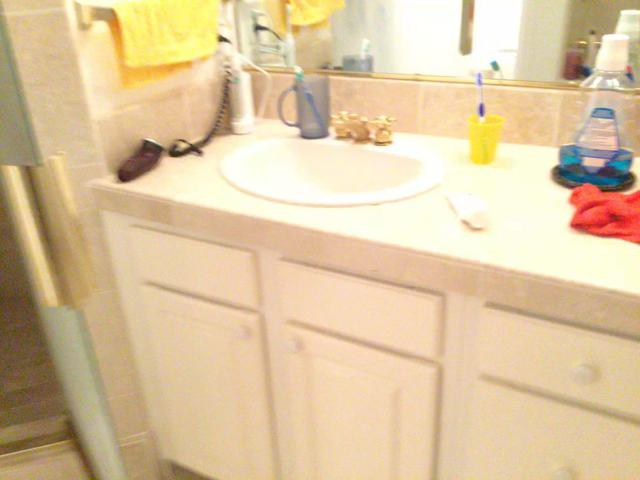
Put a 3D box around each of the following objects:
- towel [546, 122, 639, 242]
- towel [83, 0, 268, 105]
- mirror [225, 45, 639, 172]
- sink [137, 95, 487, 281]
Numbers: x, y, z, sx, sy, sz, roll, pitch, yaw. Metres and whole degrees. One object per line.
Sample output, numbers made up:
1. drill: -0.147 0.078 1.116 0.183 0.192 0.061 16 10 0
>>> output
1. towel: 0.620 -0.100 0.990 0.370 0.090 0.380 12 28 26
2. towel: -0.300 -0.460 1.330 0.100 0.200 0.480 12 28 26
3. mirror: 0.810 -0.230 1.110 2.270 0.180 0.230 12 28 26
4. sink: 0.000 -0.160 1.290 0.610 0.200 0.460 12 28 26
